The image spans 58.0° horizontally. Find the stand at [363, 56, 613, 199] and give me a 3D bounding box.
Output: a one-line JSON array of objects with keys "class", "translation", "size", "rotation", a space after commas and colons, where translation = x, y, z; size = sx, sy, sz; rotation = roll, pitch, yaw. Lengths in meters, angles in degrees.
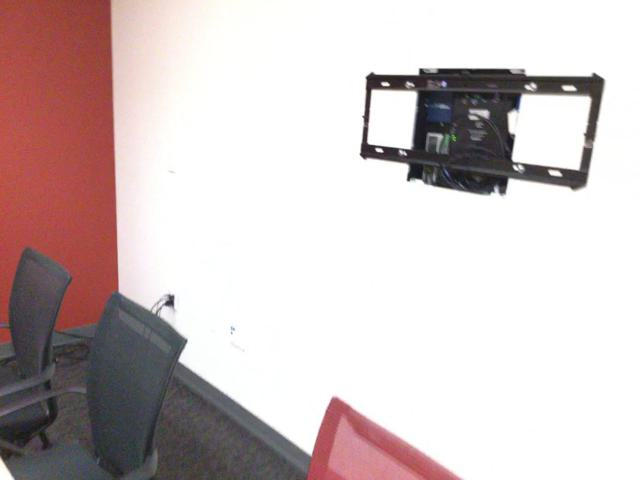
[{"class": "stand", "translation": [0.420, -0.320, 1.650], "size": [0.070, 0.330, 0.740], "rotation": [-7, 14, -41]}]
